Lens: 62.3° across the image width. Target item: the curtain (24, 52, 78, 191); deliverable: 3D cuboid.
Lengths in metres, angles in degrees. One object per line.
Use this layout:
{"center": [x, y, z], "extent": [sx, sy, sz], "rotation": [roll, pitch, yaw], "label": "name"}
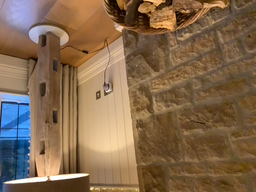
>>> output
{"center": [-0.760, 0.700, 2.130], "extent": [0.490, 2.340, 0.120], "rotation": [9, 158, -42], "label": "curtain"}
